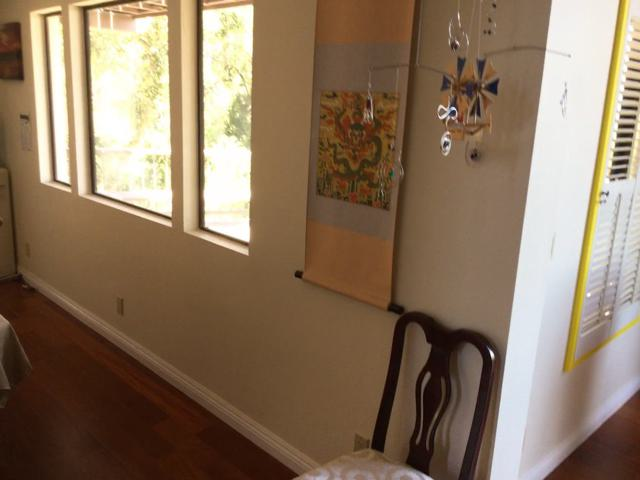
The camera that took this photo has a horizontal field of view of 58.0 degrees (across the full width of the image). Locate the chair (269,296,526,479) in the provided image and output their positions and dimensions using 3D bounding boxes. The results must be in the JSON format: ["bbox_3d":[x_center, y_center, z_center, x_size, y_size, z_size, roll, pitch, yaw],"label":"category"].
[{"bbox_3d":[0.210,0.730,1.780,0.480,0.930,0.550,17,17,41],"label":"chair"}]

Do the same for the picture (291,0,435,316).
[{"bbox_3d":[0.130,-0.360,2.050,0.460,1.170,0.080,17,17,41],"label":"picture"}]

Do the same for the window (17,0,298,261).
[{"bbox_3d":[-1.130,-0.770,3.360,2.450,1.200,0.290,17,17,41],"label":"window"}]
